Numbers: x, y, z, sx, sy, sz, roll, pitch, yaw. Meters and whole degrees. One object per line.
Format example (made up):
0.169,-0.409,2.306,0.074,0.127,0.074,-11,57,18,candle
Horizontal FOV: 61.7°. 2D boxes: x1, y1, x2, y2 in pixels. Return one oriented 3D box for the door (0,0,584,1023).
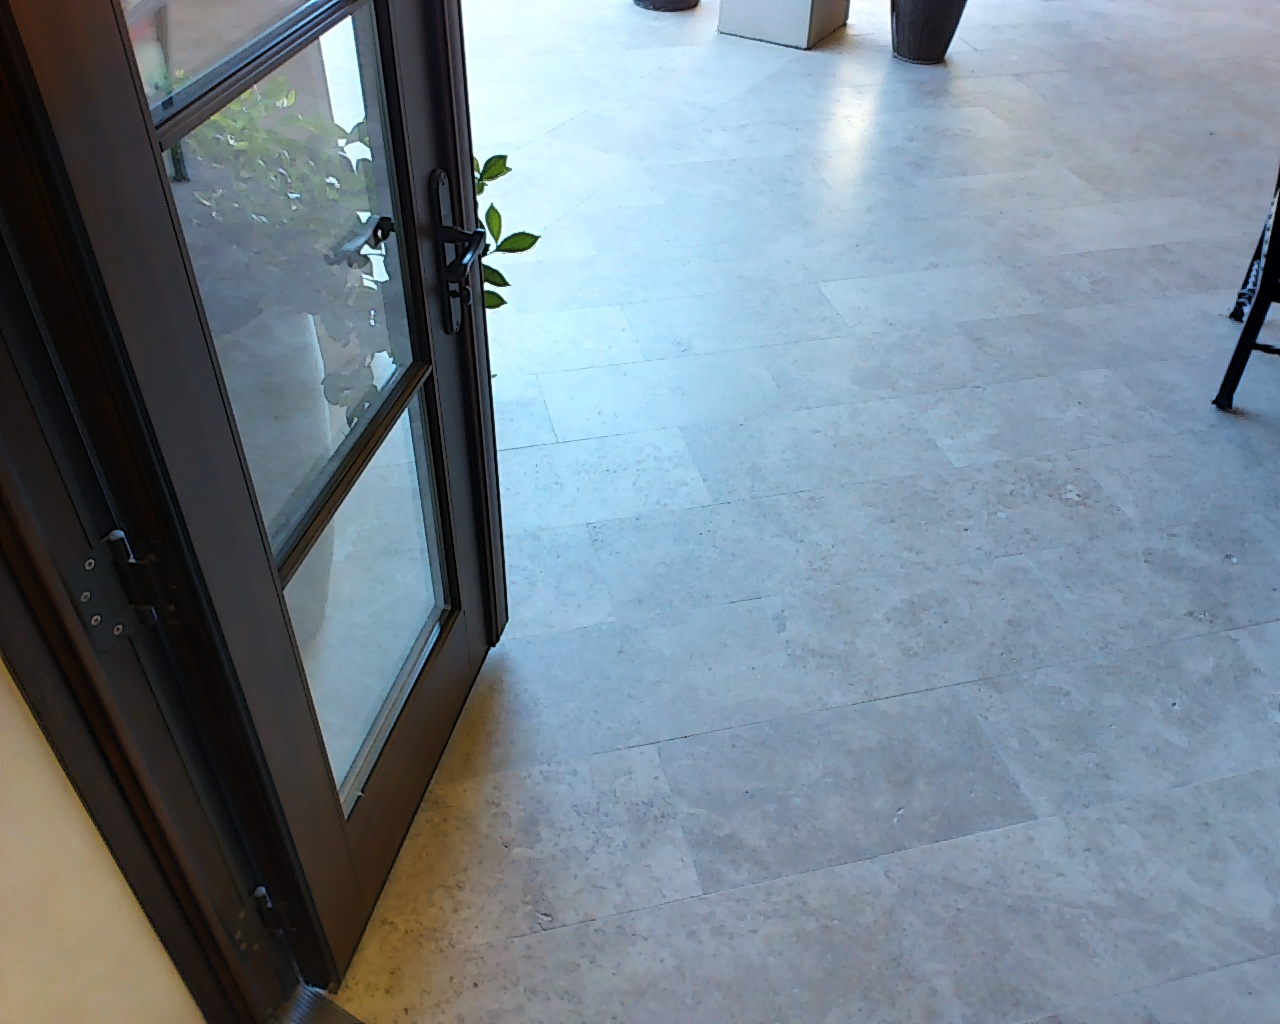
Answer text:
-0.330,-0.480,1.140,0.180,2.430,1.070,11,42,11,door
